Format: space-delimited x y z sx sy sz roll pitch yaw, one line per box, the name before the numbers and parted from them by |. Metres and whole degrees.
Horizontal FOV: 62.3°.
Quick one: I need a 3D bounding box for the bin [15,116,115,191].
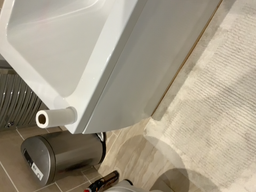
bin | -0.360 0.320 1.290 0.270 0.470 0.230 41 112 25
